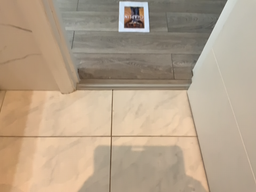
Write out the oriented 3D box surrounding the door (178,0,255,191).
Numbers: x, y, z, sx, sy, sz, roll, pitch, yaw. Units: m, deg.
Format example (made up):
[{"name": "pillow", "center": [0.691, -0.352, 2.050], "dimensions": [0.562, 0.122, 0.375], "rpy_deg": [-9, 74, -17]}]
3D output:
[{"name": "door", "center": [0.390, -0.250, 0.300], "dimensions": [0.040, 1.970, 0.830], "rpy_deg": [1, 62, -3]}]
